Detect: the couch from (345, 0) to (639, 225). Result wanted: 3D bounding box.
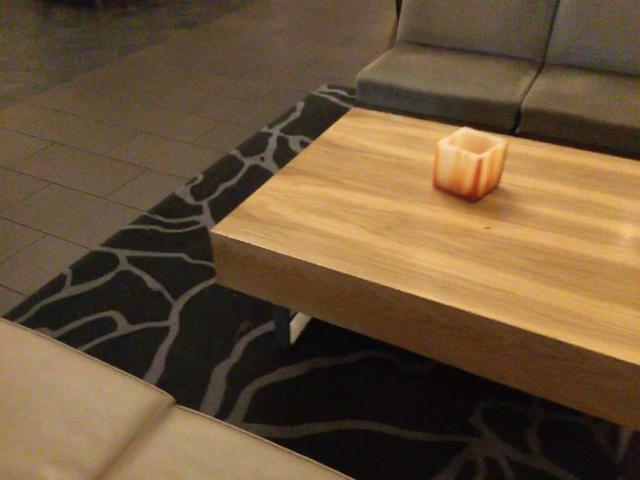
[{"bbox_3d":[0.960,-0.730,2.500,1.510,0.840,0.720,17,38,22],"label":"couch"}]

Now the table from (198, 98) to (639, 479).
[{"bbox_3d":[0.490,0.090,1.690,1.310,0.490,0.940,17,38,22],"label":"table"}]
